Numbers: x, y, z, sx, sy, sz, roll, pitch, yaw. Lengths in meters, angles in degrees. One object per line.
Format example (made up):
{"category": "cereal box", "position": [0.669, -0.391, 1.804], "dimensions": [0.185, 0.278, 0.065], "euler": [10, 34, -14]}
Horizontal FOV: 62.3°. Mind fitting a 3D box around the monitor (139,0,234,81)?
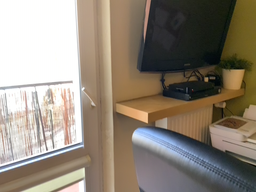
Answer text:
{"category": "monitor", "position": [0.410, -0.410, 1.290], "dimensions": [0.800, 0.510, 0.030], "euler": [8, 3, -40]}
